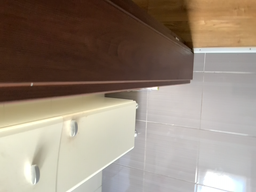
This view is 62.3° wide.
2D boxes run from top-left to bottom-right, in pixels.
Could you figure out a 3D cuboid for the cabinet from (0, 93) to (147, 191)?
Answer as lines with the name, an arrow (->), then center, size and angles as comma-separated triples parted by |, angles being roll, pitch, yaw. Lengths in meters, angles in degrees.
cabinet -> -0.430, 0.220, 0.620 | 0.320, 1.880, 0.330 | 3, 95, 26
